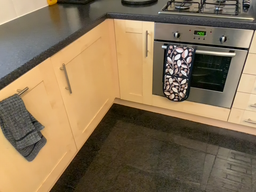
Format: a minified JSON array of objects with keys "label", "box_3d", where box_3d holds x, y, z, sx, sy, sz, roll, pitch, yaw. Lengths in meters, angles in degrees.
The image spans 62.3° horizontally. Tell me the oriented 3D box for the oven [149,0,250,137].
[{"label":"oven","box_3d":[0.540,-0.240,1.750,0.560,0.880,0.590,11,39,18]}]
